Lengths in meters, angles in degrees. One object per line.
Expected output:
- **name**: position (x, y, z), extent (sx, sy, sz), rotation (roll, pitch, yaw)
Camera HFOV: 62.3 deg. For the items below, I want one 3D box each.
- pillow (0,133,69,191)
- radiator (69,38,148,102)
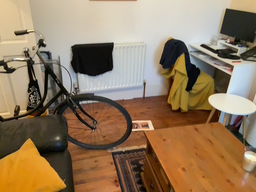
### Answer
- **pillow**: position (-0.680, 0.480, 1.220), extent (0.500, 0.130, 0.470), rotation (-18, 35, -33)
- **radiator**: position (-0.240, -0.340, 2.790), extent (0.970, 0.780, 0.120), rotation (-6, 30, -16)
